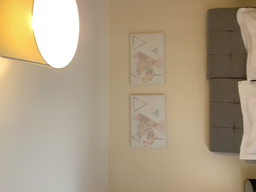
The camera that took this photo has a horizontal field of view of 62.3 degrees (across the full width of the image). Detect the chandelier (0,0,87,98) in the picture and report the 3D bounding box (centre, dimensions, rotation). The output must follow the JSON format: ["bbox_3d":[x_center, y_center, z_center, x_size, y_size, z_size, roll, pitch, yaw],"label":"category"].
[{"bbox_3d":[-0.410,-0.240,0.750,0.340,0.380,0.360,81,12,-46],"label":"chandelier"}]
